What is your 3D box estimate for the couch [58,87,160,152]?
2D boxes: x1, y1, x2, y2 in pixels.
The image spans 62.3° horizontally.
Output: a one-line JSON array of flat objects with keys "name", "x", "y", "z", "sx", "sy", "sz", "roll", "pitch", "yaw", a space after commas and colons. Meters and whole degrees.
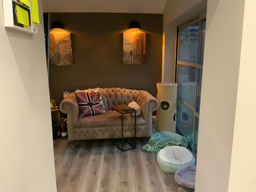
[{"name": "couch", "x": -0.330, "y": 0.350, "z": 3.780, "sx": 1.560, "sy": 0.880, "sz": 0.870, "roll": -1, "pitch": 12, "yaw": -7}]
